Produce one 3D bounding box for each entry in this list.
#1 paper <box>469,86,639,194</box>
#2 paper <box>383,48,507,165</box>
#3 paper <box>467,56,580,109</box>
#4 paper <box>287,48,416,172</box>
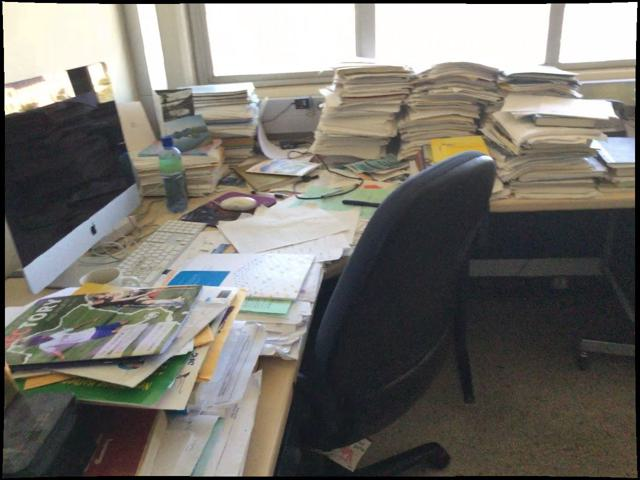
[{"bbox_3d":[0.668,-0.311,1.730,0.389,0.190,0.420,-2,26,9],"label":"paper"},{"bbox_3d":[0.419,-0.471,2.000,0.369,0.291,0.390,-2,26,9],"label":"paper"},{"bbox_3d":[0.668,-0.531,1.930,0.319,0.110,0.220,-2,26,9],"label":"paper"},{"bbox_3d":[0.140,-0.491,2.110,0.399,0.311,0.510,-2,26,9],"label":"paper"}]
